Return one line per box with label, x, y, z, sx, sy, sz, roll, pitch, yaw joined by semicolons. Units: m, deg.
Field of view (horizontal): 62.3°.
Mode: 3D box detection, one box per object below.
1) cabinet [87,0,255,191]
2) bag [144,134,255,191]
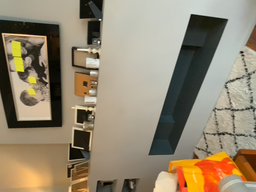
cabinet;0.420;-0.080;2.390;0.320;1.470;4.740;-106;22;-53
bag;0.390;0.550;1.120;0.520;0.420;0.450;-104;21;-50
